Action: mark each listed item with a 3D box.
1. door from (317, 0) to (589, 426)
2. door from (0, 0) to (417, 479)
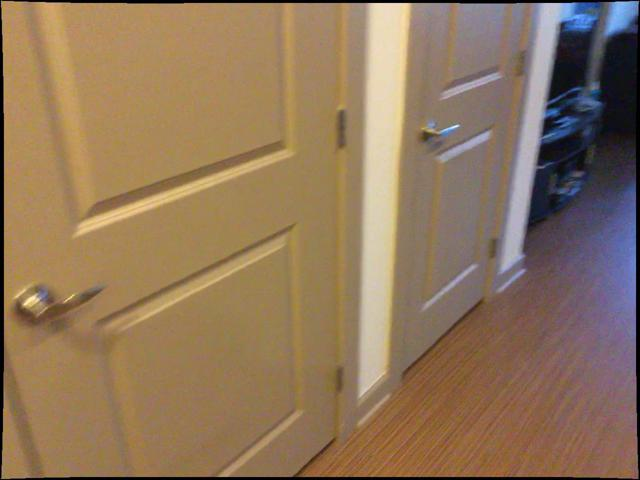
[{"bbox_3d":[0.509,-0.481,1.880,0.240,1.864,1.109,17,34,43],"label":"door"},{"bbox_3d":[-0.249,-0.140,1.130,0.220,2.044,0.969,17,34,43],"label":"door"}]
